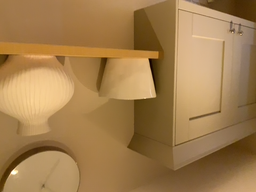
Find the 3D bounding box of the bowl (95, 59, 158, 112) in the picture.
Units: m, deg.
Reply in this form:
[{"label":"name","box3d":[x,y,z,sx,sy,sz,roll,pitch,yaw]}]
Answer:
[{"label":"bowl","box3d":[-0.010,-0.070,1.130,0.240,0.240,0.230,-6,-169,-37]}]
